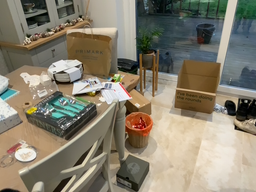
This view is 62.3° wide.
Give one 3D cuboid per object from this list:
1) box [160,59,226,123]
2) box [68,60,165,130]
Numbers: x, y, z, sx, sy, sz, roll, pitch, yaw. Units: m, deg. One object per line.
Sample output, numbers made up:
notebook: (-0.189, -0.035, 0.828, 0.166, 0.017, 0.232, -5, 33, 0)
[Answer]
box: (0.740, -0.100, 2.380, 0.540, 0.330, 0.680, 14, 37, 23)
box: (-0.130, -0.060, 2.390, 0.940, 0.380, 0.480, 17, 38, 28)
